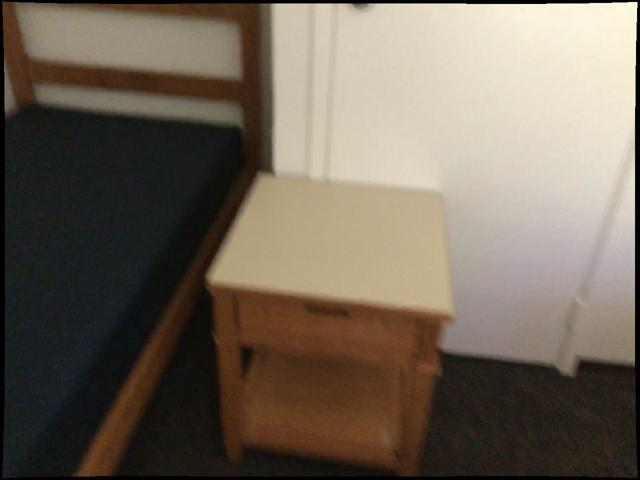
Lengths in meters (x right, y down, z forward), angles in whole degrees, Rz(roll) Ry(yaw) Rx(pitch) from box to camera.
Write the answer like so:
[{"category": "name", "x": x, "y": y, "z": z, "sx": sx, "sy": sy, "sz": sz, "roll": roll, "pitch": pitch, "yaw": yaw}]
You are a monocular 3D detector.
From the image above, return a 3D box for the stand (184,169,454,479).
[{"category": "stand", "x": 0.020, "y": 0.221, "z": 1.580, "sx": 0.559, "sy": 0.601, "sz": 0.560, "roll": 5, "pitch": 33, "yaw": 5}]

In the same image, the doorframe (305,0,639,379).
[{"category": "doorframe", "x": 0.419, "y": -0.130, "z": 1.570, "sx": 0.908, "sy": 1.222, "sz": 0.080, "roll": 5, "pitch": 33, "yaw": 5}]
